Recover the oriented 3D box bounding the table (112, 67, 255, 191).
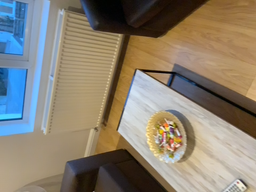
[{"bbox_3d":[0.430,0.260,1.340,1.030,0.450,0.520,37,118,42],"label":"table"}]

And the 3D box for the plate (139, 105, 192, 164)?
[{"bbox_3d":[0.200,0.220,1.210,0.290,0.050,0.300,-15,80,48],"label":"plate"}]
